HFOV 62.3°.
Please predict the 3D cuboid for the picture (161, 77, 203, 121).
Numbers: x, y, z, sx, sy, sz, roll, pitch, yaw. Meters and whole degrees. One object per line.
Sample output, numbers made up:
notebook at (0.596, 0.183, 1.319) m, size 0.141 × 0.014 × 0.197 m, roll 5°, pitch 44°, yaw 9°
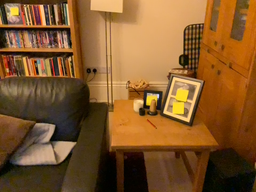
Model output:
picture at (0.360, 0.010, 1.410) m, size 0.240 × 0.270 × 0.130 m, roll 2°, pitch 4°, yaw 31°
